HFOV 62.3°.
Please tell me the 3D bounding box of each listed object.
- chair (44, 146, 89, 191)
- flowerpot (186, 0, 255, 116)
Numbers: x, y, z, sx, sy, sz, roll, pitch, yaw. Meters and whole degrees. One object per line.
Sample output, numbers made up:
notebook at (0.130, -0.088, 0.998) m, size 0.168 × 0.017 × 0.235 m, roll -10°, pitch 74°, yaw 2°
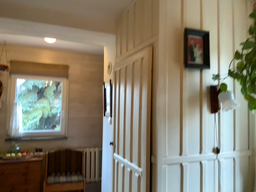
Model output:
chair at (-0.970, 1.250, 3.340) m, size 0.620 × 0.810 × 0.510 m, roll 2°, pitch -3°, yaw -17°
flowerpot at (0.840, -0.220, 1.400) m, size 0.600 × 0.680 × 0.640 m, roll 3°, pitch -3°, yaw -26°
